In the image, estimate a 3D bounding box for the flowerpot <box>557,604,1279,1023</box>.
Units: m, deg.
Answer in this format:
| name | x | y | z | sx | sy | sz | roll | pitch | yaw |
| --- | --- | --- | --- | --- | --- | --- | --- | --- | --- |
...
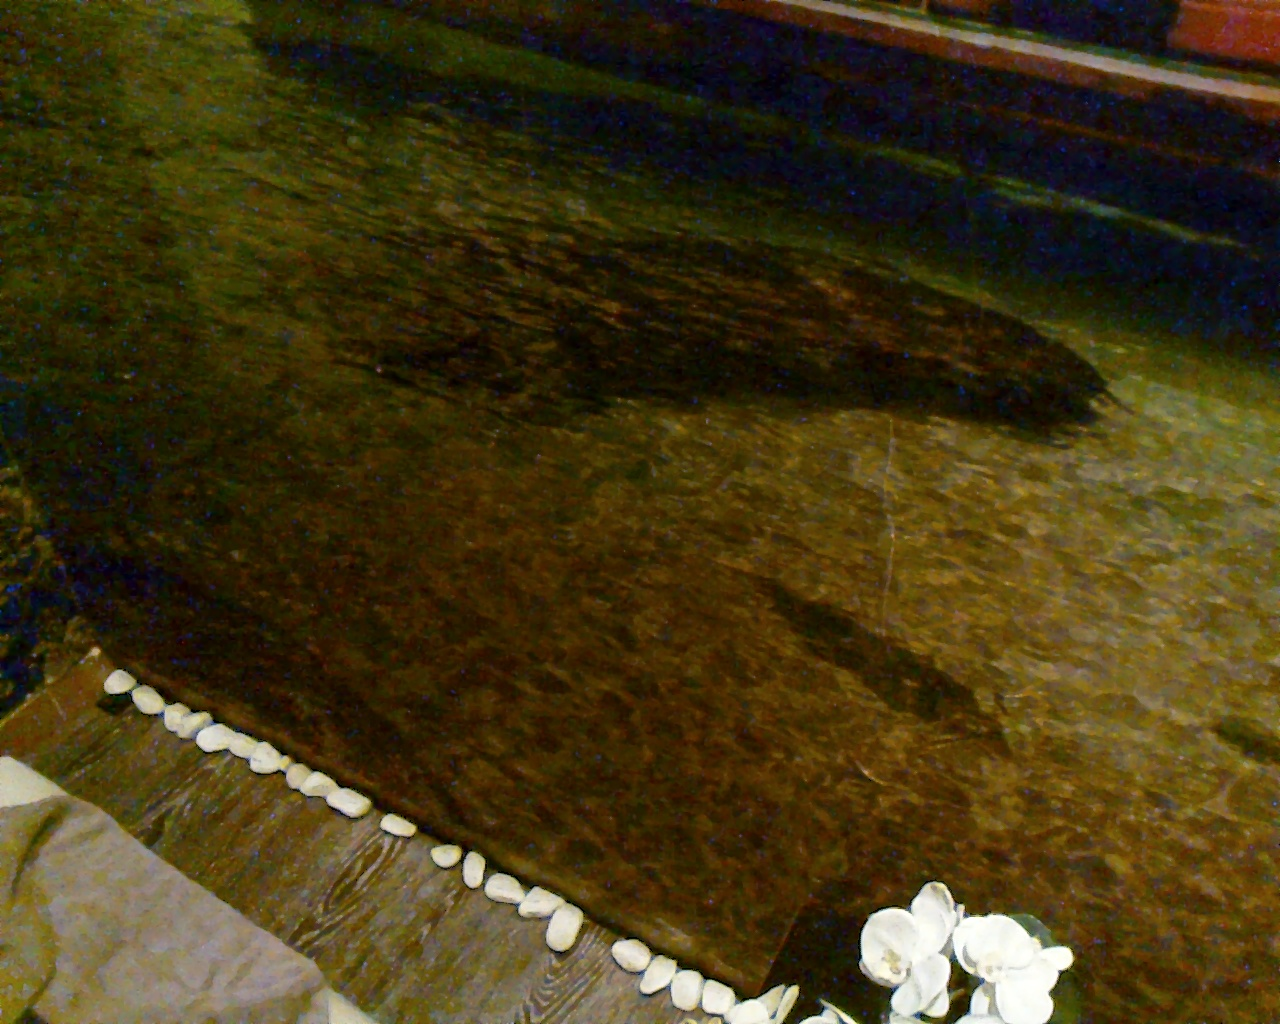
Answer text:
| name | x | y | z | sx | sy | sz | roll | pitch | yaw |
| --- | --- | --- | --- | --- | --- | --- | --- | --- | --- |
| flowerpot | 0.280 | 0.510 | 1.000 | 0.510 | 0.470 | 0.530 | 23 | 47 | 23 |
